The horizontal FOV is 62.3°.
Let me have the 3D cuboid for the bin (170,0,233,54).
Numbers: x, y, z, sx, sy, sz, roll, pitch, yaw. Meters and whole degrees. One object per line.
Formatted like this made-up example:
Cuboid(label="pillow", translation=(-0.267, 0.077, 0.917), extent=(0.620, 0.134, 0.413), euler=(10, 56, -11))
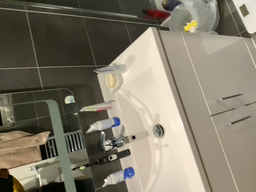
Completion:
Cuboid(label="bin", translation=(0.480, -0.460, 1.410), extent=(0.240, 0.230, 0.270), euler=(-29, 73, 52))
